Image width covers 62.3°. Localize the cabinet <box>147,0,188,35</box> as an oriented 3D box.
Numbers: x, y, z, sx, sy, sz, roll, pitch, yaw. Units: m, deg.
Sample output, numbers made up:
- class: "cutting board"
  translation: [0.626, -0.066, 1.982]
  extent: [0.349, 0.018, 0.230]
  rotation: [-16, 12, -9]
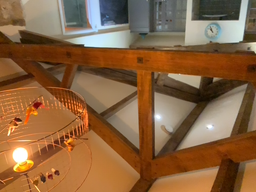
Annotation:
- class: "cabinet"
  translation: [1.070, -2.190, 5.800]
  extent: [0.980, 0.910, 0.430]
  rotation: [12, -155, 30]
